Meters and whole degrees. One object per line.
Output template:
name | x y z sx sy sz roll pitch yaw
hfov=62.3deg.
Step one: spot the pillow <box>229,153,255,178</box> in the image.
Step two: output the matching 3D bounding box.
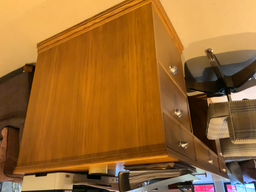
pillow | 1.820 1.110 3.360 0.190 0.330 0.360 0 155 -4
